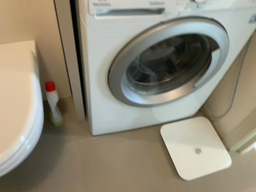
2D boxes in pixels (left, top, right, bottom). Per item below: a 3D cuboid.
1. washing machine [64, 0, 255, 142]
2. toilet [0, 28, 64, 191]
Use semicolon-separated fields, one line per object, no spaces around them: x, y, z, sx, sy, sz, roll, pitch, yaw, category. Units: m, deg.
0.080;-0.280;0.950;0.630;0.800;0.540;-11;56;-15;washing machine
-0.490;0.090;0.790;0.360;0.370;0.540;-12;56;-16;toilet
